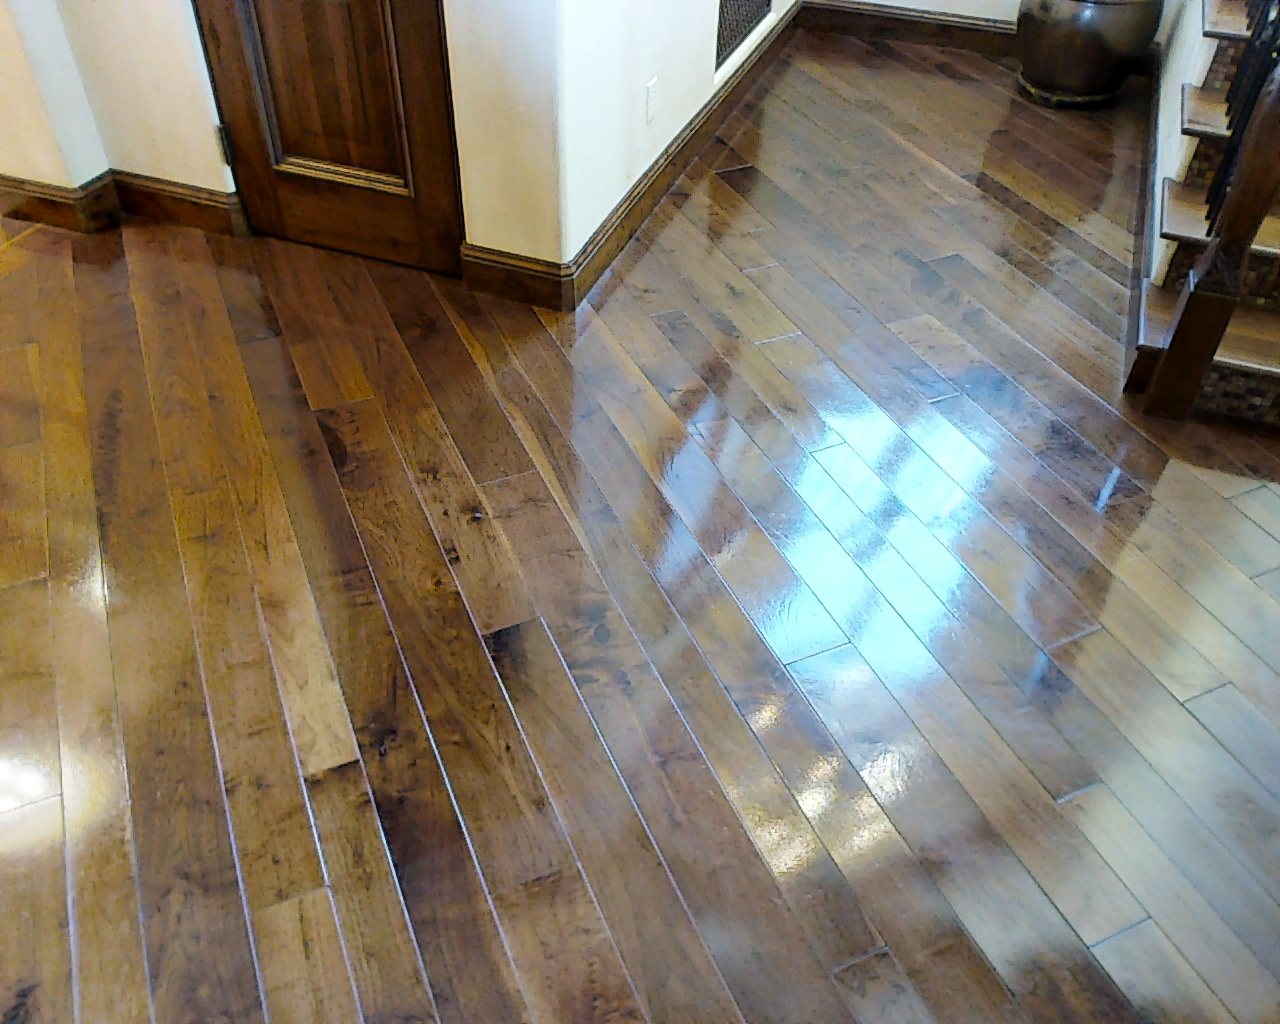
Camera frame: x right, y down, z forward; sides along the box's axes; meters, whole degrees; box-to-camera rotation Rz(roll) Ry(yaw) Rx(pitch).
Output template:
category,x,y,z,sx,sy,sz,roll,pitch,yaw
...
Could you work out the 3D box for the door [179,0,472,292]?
category,x,y,z,sx,sy,sz,roll,pitch,yaw
door,-0.830,-1.640,2.360,0.760,2.420,0.050,15,44,15
